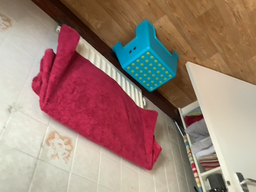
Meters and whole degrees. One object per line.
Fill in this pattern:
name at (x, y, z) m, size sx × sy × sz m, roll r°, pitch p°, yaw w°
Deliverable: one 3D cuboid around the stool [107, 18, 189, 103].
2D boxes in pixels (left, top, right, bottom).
stool at (0.150, -0.240, 1.580) m, size 0.350 × 0.250 × 0.490 m, roll -32°, pitch 128°, yaw 27°
